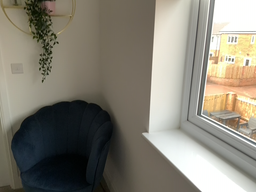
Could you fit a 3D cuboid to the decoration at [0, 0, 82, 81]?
[{"bbox_3d":[-0.700,-0.590,1.740,0.590,0.890,0.180,-5,17,-21],"label":"decoration"}]
